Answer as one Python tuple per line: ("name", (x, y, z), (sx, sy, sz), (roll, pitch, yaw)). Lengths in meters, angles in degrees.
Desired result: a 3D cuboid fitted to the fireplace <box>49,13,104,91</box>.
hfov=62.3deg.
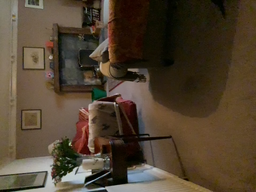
("fireplace", (-1.310, -1.060, 5.350), (0.610, 1.220, 1.750), (155, 112, -69))
